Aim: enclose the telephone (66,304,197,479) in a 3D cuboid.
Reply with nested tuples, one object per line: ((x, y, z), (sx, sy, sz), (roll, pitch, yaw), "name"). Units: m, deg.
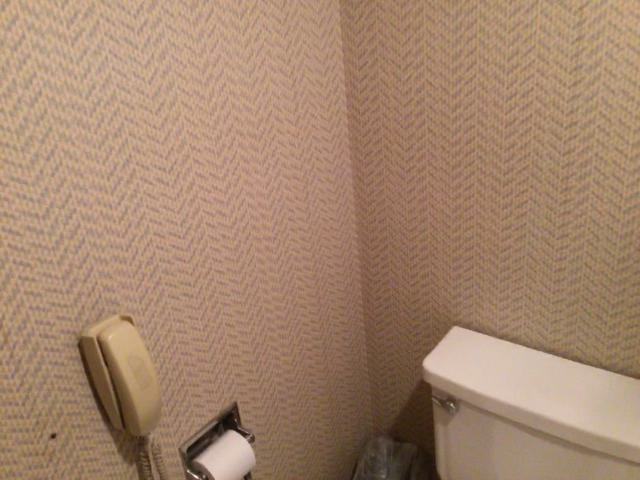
((-0.300, 0.350, 1.000), (0.100, 0.480, 0.090), (12, 30, 38), "telephone")
